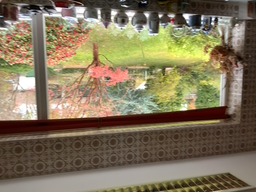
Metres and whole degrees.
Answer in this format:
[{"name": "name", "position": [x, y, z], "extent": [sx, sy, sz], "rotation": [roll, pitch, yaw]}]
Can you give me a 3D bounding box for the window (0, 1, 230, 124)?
[{"name": "window", "position": [-0.260, -0.290, 1.970], "extent": [2.740, 0.990, 0.070], "rotation": [-2, -173, -15]}]
